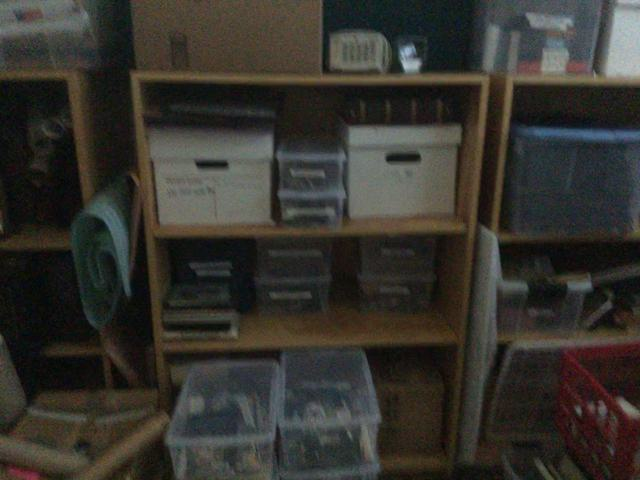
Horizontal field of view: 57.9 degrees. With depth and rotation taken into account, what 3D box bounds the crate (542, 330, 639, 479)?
[{"bbox_3d":[0.910,0.460,1.570,0.420,0.280,0.390,-2,17,-5],"label":"crate"}]
